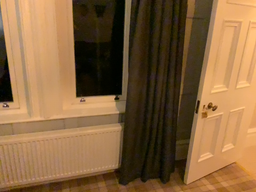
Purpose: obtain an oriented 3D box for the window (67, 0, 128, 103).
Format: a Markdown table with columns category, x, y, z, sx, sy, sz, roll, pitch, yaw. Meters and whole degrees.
| category | x | y | z | sx | sy | sz | roll | pitch | yaw |
| --- | --- | --- | --- | --- | --- | --- | --- | --- | --- |
| window | -0.250 | -1.000 | 1.770 | 0.510 | 2.190 | 0.110 | -4 | 21 | -19 |
